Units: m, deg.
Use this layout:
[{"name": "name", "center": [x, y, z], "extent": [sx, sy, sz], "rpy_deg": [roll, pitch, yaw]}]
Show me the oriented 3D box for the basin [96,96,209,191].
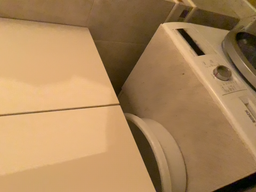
[{"name": "basin", "center": [0.050, 0.280, 0.880], "extent": [0.410, 0.140, 0.380], "rpy_deg": [-57, 48, 42]}]
